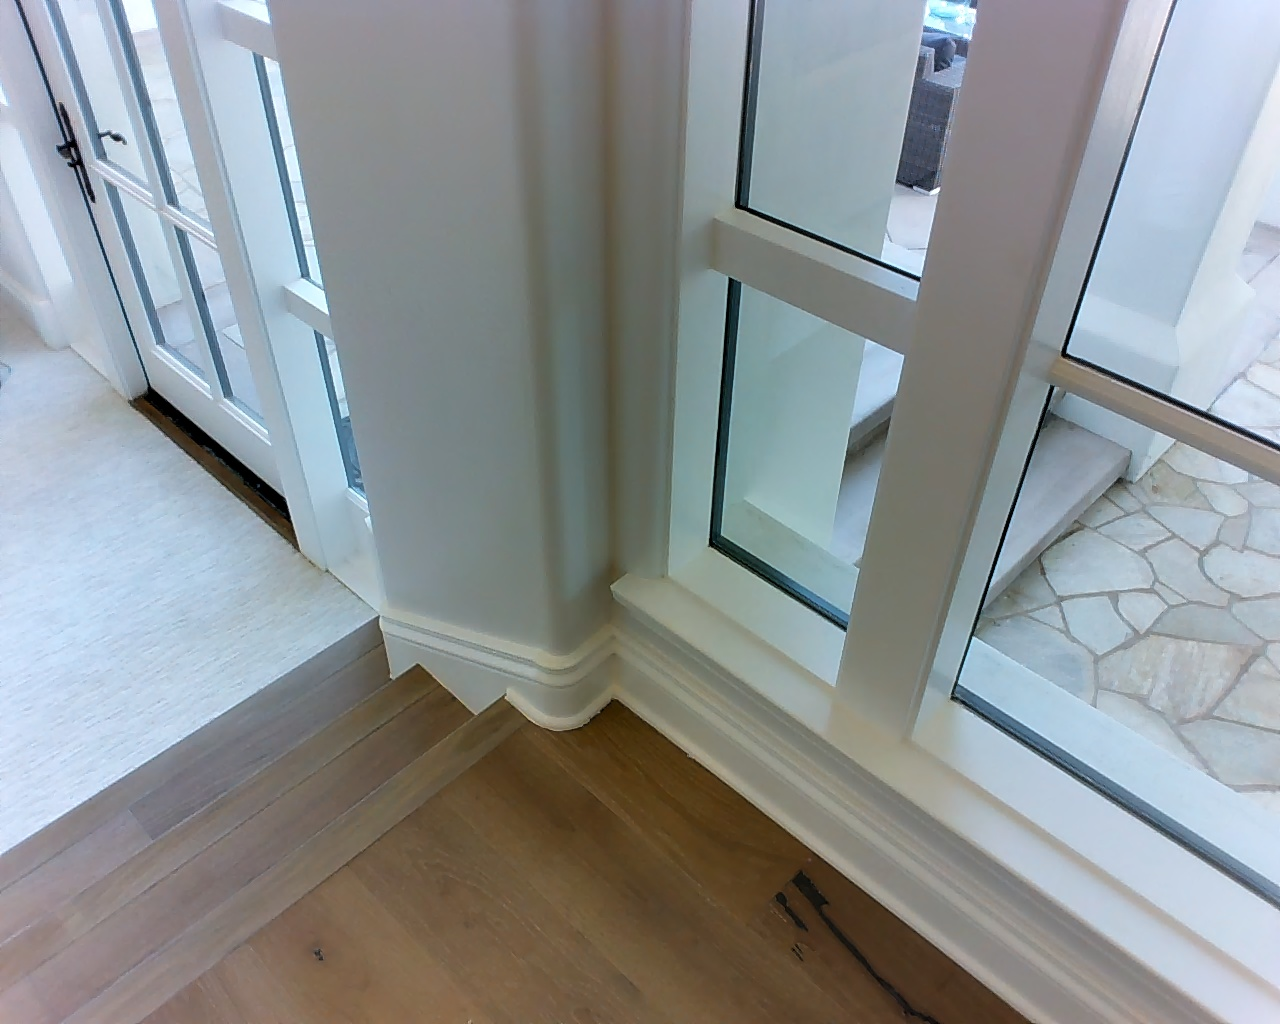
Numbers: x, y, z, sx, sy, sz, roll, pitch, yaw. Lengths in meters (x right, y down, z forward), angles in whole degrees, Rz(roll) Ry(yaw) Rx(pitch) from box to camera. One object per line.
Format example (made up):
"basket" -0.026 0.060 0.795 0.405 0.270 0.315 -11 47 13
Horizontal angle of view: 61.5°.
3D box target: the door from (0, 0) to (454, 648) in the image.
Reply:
"door" -1.320 -1.350 2.450 2.080 3.180 0.200 33 51 31
